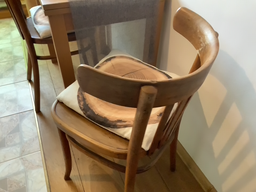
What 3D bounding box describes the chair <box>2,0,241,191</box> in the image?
[{"bbox_3d":[-0.010,0.090,0.820,0.470,0.750,0.440,27,48,25],"label":"chair"}]
